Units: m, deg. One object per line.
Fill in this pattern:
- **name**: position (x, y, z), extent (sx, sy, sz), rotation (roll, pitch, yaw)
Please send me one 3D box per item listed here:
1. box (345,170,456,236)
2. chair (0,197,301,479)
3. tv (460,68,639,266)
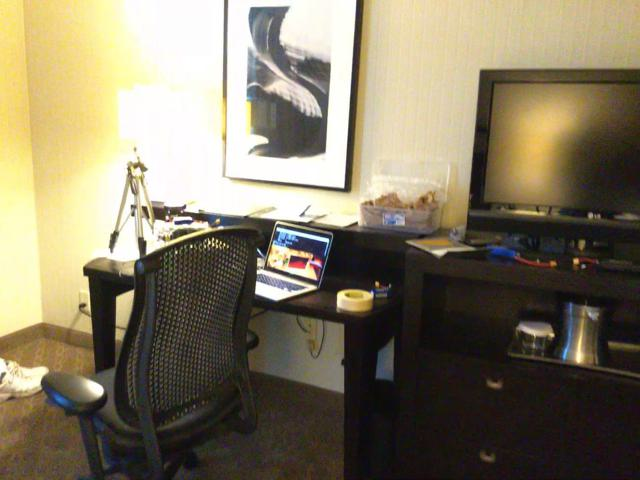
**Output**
- **box**: position (0.330, -0.160, 2.360), extent (0.380, 0.200, 0.250), rotation (8, 14, 24)
- **chair**: position (-0.530, 0.460, 1.850), extent (0.650, 1.070, 0.660), rotation (10, 14, 30)
- **tv**: position (0.900, -0.240, 1.860), extent (0.820, 0.590, 0.160), rotation (7, 13, 25)
